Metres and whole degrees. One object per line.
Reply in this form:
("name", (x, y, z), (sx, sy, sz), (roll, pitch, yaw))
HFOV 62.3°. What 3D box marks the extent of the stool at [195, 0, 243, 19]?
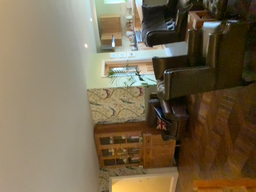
("stool", (1.130, -1.310, 2.630), (0.650, 0.320, 0.440), (-95, 3, -49))
